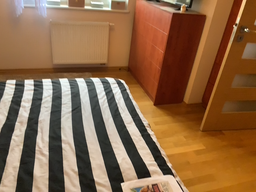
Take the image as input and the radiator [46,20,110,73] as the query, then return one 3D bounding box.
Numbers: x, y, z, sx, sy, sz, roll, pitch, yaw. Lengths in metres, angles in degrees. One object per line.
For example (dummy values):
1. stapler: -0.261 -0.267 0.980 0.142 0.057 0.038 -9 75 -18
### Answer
1. radiator: -0.730 -0.710 3.150 0.860 0.720 0.170 -3 31 -19
